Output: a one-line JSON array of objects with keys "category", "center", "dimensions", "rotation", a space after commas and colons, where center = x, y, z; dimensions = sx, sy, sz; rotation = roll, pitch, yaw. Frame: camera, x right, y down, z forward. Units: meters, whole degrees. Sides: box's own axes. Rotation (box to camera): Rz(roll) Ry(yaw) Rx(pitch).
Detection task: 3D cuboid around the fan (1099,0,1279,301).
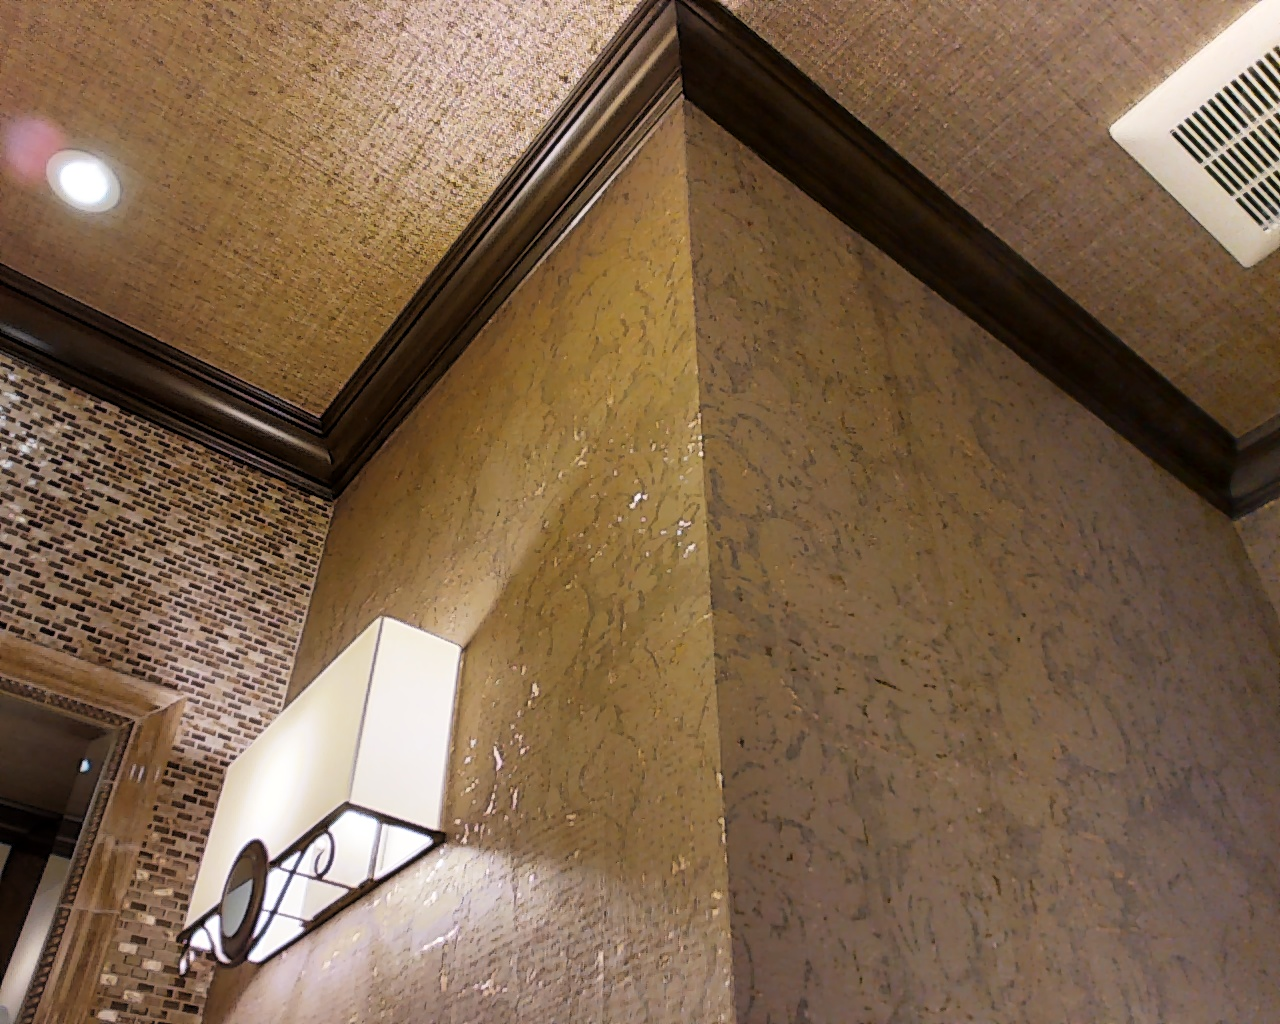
[{"category": "fan", "center": [0.819, -0.470, 1.300], "dimensions": [0.360, 0.040, 0.350], "rotation": [29, -49, -27]}]
